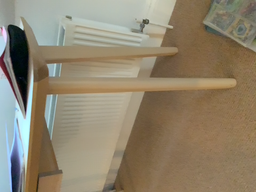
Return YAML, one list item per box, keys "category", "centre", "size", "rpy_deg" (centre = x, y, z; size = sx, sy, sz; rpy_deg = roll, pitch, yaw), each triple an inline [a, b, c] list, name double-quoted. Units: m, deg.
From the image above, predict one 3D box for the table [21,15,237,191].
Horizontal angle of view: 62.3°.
- category: "table"
  centre: [-0.130, 0.320, 1.120]
  size: [0.480, 0.710, 1.210]
  rpy_deg: [49, 130, 47]
